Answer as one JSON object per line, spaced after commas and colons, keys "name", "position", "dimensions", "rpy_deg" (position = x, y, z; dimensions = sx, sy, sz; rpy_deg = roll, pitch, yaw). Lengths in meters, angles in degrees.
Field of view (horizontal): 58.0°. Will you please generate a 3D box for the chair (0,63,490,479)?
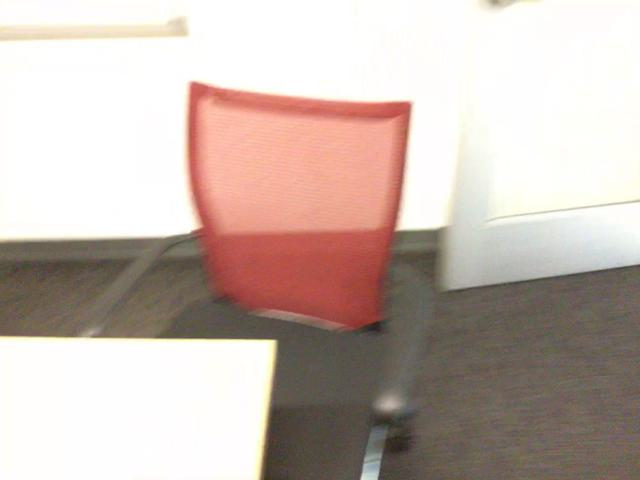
{"name": "chair", "position": [-0.120, 0.200, 1.120], "dimensions": [0.650, 0.860, 0.610], "rpy_deg": [13, 35, 23]}
